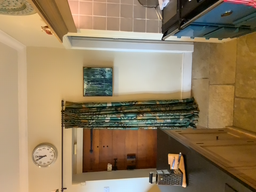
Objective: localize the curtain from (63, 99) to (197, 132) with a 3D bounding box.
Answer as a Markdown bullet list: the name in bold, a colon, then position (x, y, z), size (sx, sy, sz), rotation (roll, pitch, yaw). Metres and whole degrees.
- **curtain**: position (0.060, 0.290, 3.270), size (0.250, 2.020, 0.440), rotation (-161, 72, -79)
